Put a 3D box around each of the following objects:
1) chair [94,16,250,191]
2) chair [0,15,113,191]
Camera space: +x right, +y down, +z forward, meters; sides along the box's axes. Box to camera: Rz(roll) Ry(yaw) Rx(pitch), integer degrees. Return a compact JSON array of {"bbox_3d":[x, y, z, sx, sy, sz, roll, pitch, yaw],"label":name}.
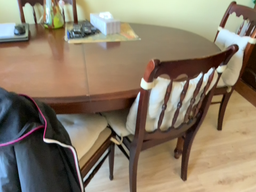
[{"bbox_3d":[0.130,0.110,1.210,0.470,0.930,0.530,-12,38,-21],"label":"chair"},{"bbox_3d":[-0.400,0.220,0.970,0.440,0.960,0.530,20,38,21],"label":"chair"}]
